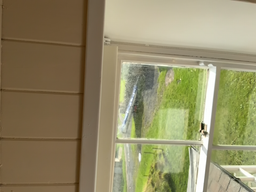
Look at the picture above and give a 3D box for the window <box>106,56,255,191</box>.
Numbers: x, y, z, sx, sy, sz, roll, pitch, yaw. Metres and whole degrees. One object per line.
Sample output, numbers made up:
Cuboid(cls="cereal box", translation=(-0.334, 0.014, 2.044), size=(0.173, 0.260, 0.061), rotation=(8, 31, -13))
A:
Cuboid(cls="window", translation=(0.420, 0.260, 1.230), size=(0.120, 1.050, 0.880), rotation=(-148, 61, -79))
